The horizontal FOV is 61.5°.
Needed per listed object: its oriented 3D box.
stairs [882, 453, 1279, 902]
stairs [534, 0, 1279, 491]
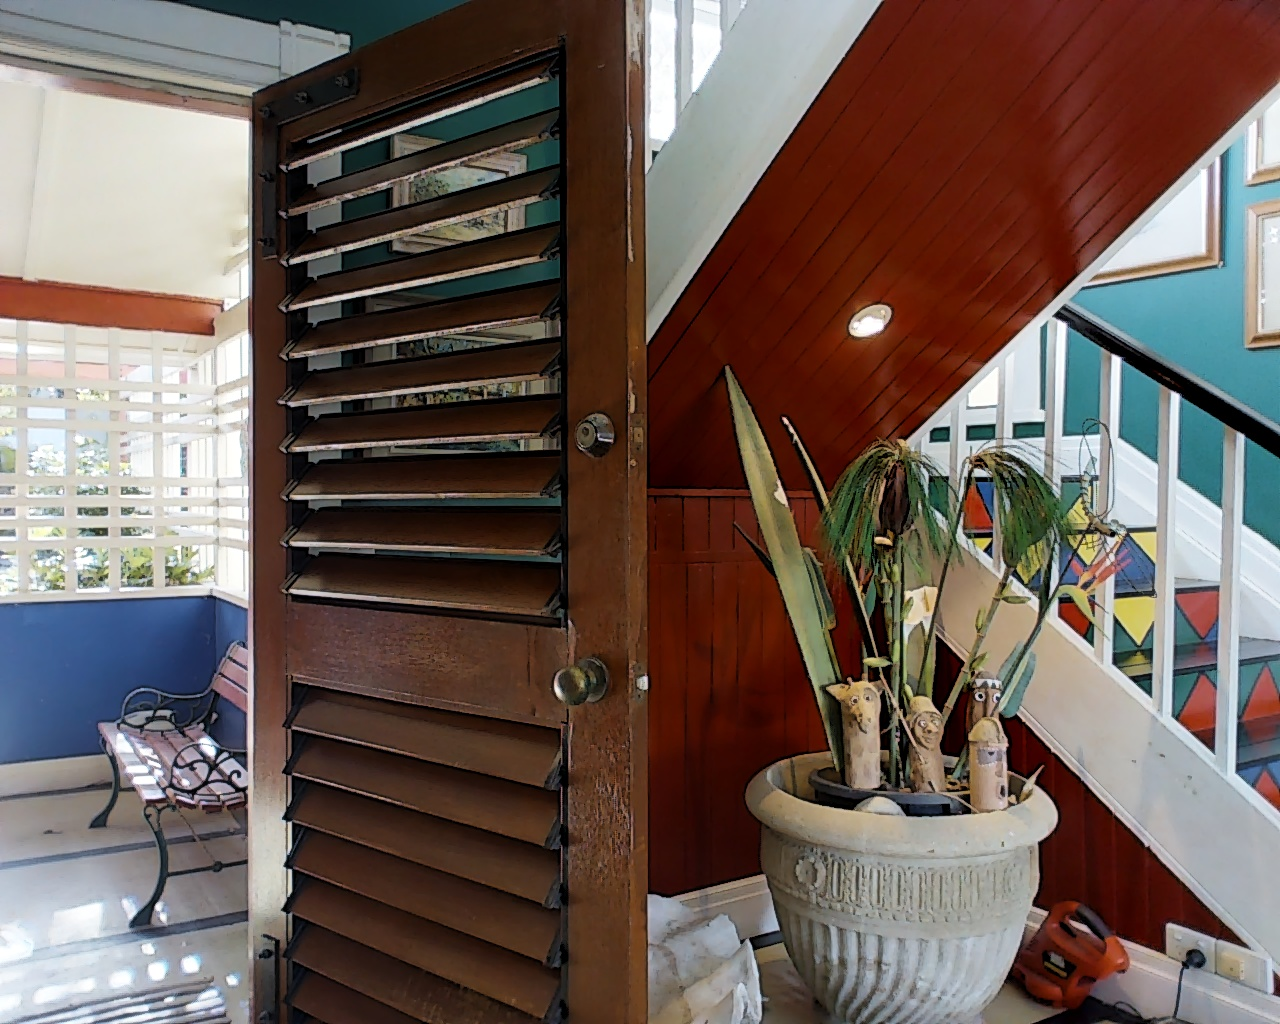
[{"bbox_3d":[1.649,0.490,2.840,1.010,0.230,2.010,0,35,-32],"label":"stairs"},{"bbox_3d":[0.670,-0.700,2.210,1.150,0.380,1.760,0,36,-32],"label":"stairs"}]
